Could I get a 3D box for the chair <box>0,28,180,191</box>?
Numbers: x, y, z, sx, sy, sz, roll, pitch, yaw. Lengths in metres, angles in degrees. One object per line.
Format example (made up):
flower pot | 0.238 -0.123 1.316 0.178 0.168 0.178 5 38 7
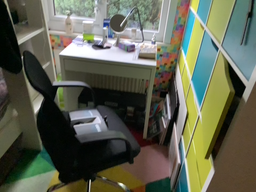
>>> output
chair | -0.250 0.210 1.270 0.650 0.980 0.660 -23 42 -36
